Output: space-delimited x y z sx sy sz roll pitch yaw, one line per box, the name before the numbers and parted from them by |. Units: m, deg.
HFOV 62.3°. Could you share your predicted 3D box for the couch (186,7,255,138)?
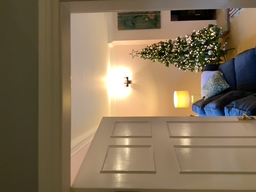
couch | 1.420 -0.170 2.710 2.220 0.840 1.000 15 -105 -88
